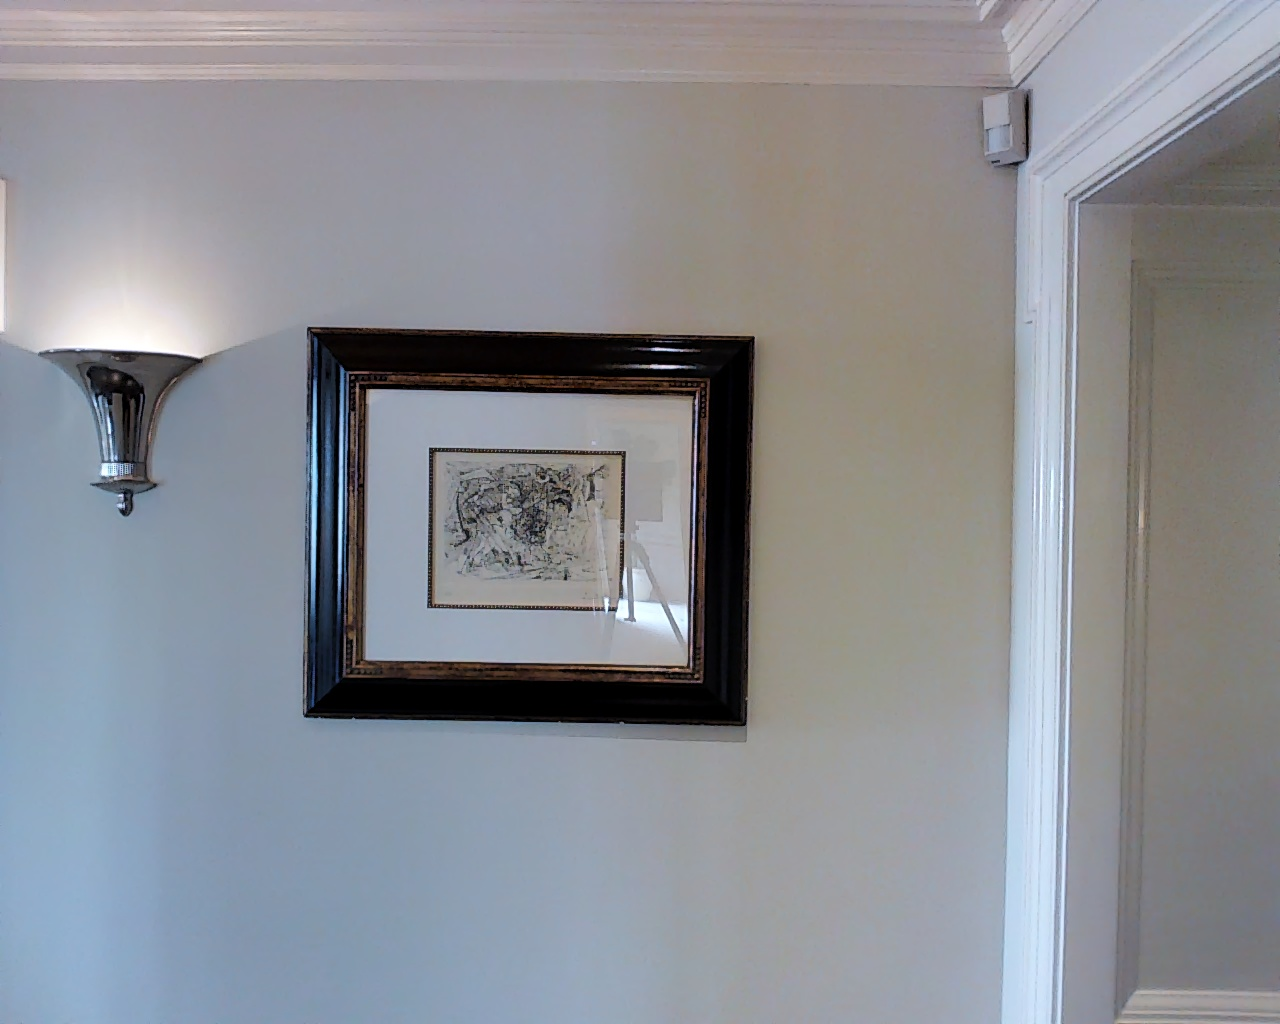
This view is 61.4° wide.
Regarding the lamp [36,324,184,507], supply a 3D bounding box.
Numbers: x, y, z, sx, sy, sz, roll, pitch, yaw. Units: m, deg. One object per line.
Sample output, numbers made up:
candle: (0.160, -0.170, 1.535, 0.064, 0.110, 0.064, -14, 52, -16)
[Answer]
lamp: (-0.960, -0.170, 1.960, 0.200, 0.320, 0.140, 0, 0, 0)
